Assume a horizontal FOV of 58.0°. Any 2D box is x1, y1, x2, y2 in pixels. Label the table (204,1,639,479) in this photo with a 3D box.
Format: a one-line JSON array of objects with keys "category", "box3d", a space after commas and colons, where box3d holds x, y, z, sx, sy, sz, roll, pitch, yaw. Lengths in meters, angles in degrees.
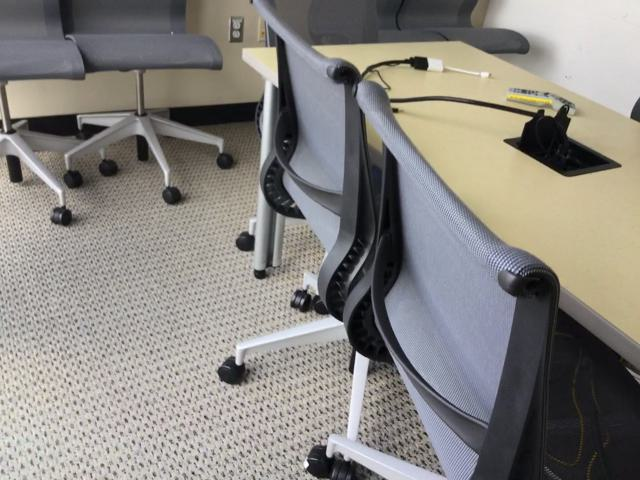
[{"category": "table", "box3d": [0.770, 0.420, 0.870, 0.910, 0.800, 3.090, -12, 38, -26]}]
